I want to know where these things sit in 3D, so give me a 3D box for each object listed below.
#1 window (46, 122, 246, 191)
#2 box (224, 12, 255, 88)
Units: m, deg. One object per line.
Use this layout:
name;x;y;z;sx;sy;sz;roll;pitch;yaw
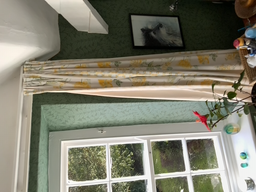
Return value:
window;0.130;0.710;1.440;0.370;1.250;0.940;119;148;-68
box;0.780;-0.260;1.220;0.330;0.200;0.310;114;152;-65
